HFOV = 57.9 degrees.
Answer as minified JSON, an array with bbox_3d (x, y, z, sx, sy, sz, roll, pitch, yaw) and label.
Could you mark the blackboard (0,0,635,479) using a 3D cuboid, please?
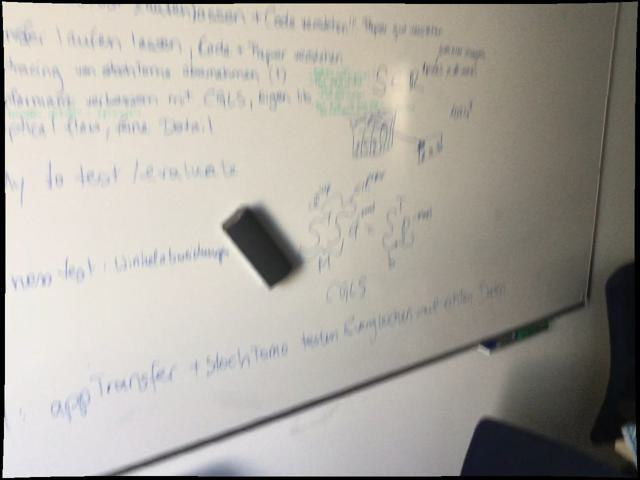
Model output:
[{"bbox_3d":[0.110,-0.210,1.290,2.019,1.261,0.080,-12,18,-34],"label":"blackboard"}]
